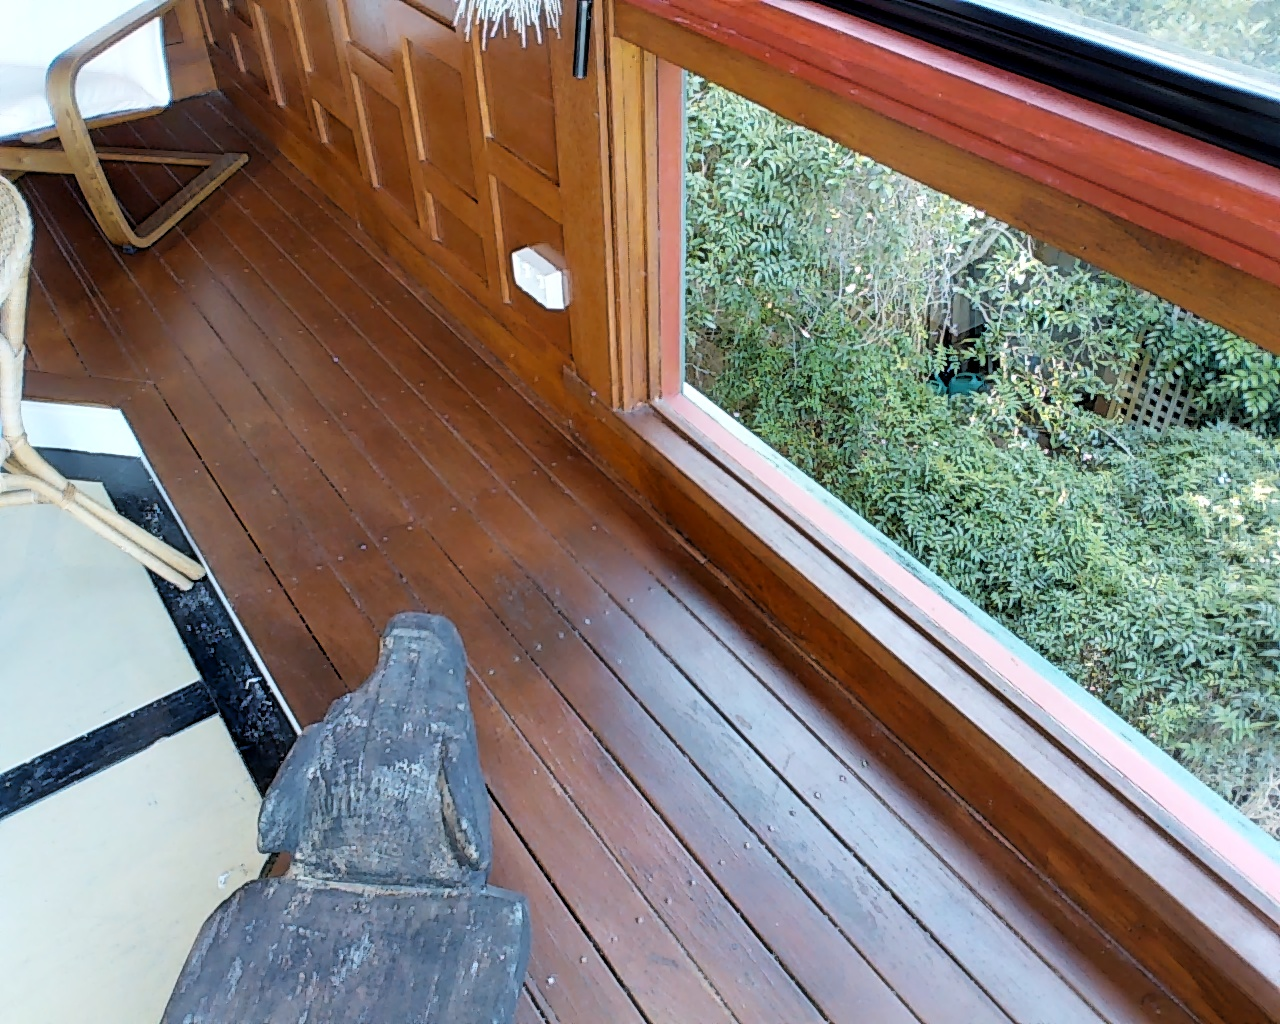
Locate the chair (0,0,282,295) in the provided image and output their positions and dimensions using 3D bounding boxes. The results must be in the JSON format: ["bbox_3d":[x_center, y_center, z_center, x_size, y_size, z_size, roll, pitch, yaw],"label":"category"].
[{"bbox_3d":[-1.540,-1.190,2.670,0.760,0.920,0.870,5,42,8],"label":"chair"}]
